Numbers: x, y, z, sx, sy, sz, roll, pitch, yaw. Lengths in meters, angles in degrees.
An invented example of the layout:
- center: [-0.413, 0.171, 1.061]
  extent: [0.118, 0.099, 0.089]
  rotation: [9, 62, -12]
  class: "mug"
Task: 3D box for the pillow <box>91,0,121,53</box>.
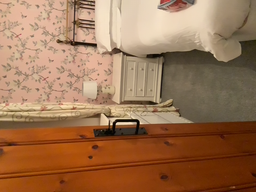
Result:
- center: [-0.290, -0.960, 2.670]
  extent: [0.440, 0.270, 0.780]
  rotation: [-159, 71, -70]
  class: "pillow"
